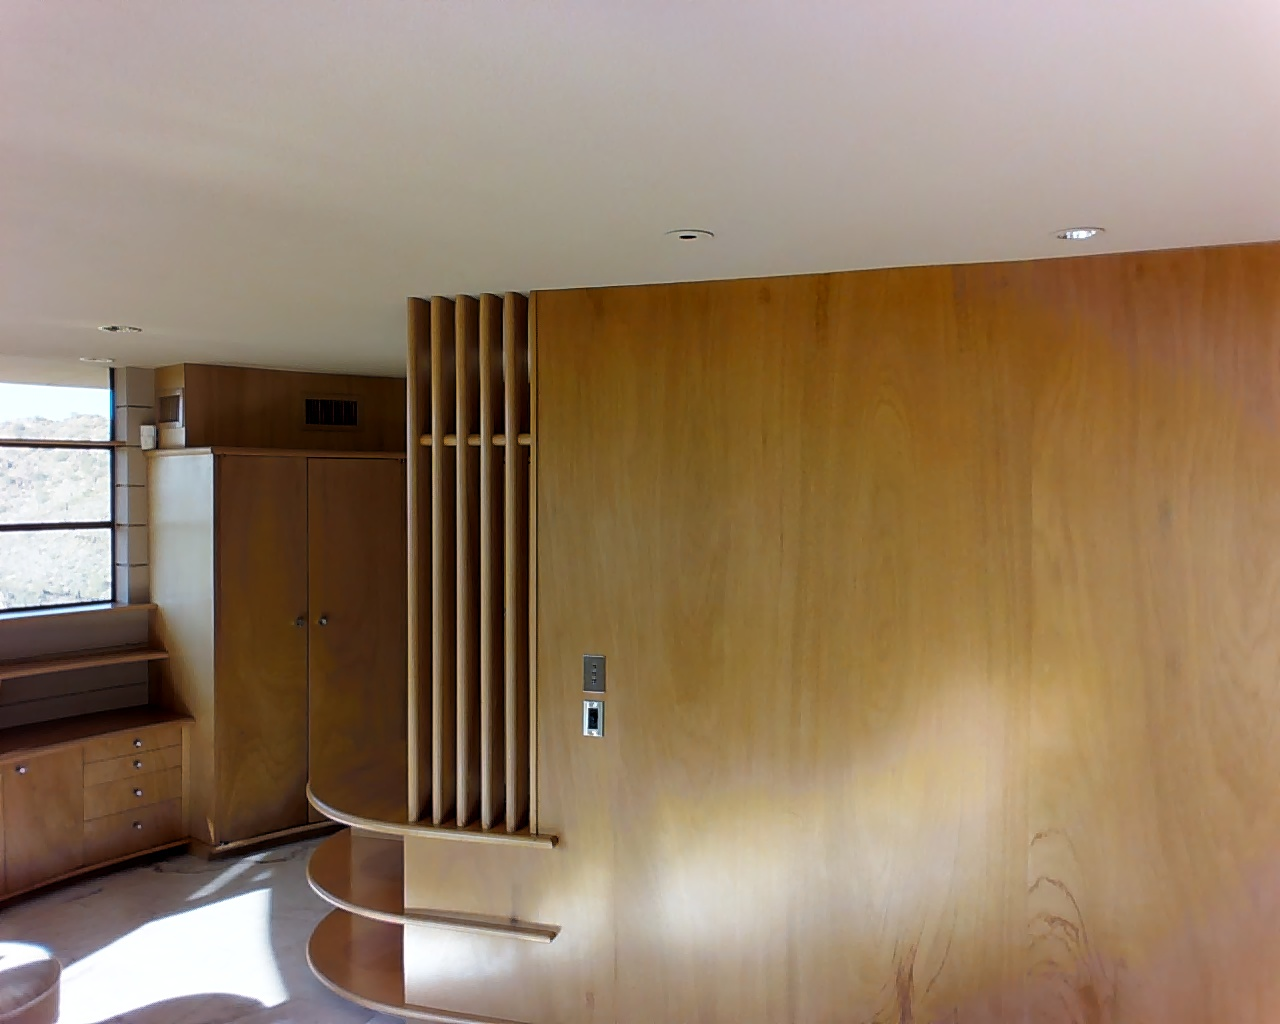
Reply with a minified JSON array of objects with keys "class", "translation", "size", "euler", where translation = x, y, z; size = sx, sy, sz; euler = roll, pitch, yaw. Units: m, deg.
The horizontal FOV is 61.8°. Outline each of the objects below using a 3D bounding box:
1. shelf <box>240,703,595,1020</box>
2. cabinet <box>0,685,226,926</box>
[{"class":"shelf","translation":[-0.830,1.330,4.430],"size":[0.830,0.750,1.410],"euler":[0,2,19]},{"class":"cabinet","translation":[-2.619,1.290,4.890],"size":[0.590,0.740,1.260],"euler":[1,2,29]}]
